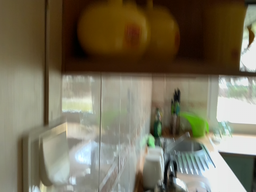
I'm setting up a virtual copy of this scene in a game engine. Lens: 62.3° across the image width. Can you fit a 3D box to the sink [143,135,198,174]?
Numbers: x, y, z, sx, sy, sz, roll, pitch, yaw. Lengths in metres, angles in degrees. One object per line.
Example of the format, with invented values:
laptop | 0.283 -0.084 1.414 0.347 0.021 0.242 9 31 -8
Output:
sink | 0.380 0.530 2.000 0.450 0.200 0.390 2 5 7
